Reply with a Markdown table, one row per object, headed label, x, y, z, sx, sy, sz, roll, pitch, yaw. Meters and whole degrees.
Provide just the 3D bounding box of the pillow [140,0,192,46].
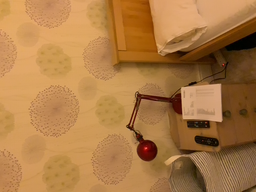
| label | x | y | z | sx | sy | sz | roll | pitch | yaw |
| --- | --- | --- | --- | --- | --- | --- | --- | --- | --- |
| pillow | 0.220 | -0.680 | 1.430 | 0.380 | 0.100 | 0.570 | -21 | 74 | 63 |
